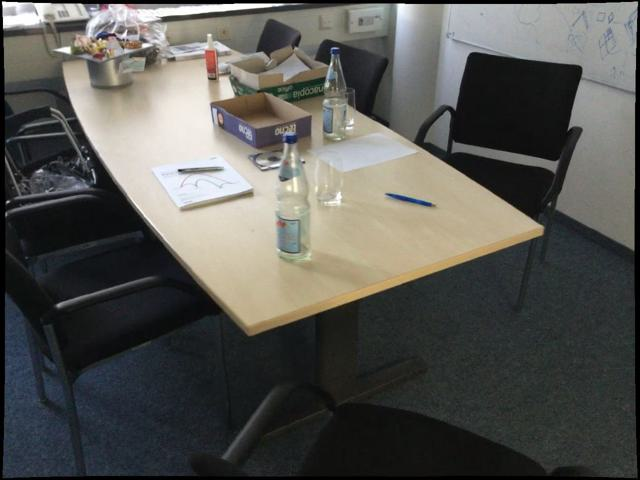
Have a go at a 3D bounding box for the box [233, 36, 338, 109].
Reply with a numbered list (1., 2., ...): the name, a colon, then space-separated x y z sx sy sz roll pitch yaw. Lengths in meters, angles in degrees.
1. box: -0.140 -0.671 2.290 0.290 0.150 0.330 -19 36 -21

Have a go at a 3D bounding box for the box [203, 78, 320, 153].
1. box: -0.210 -0.440 2.000 0.260 0.090 0.390 -18 36 -23
